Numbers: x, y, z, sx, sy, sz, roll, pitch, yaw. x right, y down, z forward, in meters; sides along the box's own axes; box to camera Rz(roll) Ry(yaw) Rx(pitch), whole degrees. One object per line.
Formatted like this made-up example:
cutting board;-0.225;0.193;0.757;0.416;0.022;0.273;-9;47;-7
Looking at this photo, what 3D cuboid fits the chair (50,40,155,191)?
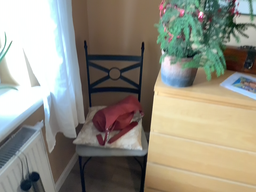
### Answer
chair;-0.130;0.170;1.610;0.530;0.980;0.680;3;31;1
